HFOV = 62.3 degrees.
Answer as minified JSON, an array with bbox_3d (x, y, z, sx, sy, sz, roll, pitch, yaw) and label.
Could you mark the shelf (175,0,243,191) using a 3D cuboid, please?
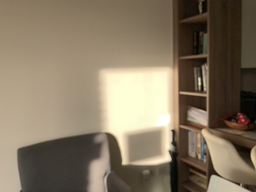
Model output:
[{"bbox_3d":[0.740,-0.060,1.990,0.440,2.520,0.380,-5,7,-27],"label":"shelf"}]
